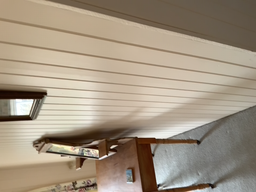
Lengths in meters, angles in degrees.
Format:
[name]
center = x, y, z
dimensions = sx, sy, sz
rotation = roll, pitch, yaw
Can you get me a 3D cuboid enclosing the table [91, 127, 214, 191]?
[table]
center = 0.160, 0.680, 2.080
dimensions = 0.920, 0.730, 0.500
rotation = -39, 54, 53
